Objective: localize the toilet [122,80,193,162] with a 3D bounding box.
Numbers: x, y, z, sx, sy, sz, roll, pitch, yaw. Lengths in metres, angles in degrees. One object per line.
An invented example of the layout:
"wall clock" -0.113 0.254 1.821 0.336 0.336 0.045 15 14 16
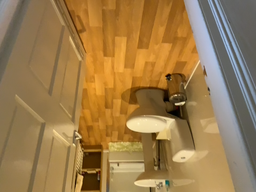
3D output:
"toilet" 0.270 0.280 2.380 0.620 0.780 0.470 1 -32 -5

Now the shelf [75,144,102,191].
"shelf" -0.700 1.430 3.830 0.430 1.050 0.270 2 -32 -6
